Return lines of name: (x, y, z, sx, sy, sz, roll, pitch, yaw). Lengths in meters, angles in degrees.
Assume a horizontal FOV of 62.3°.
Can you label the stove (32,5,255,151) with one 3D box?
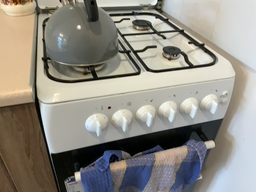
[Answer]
stove: (-0.020, -0.150, 0.740, 0.530, 0.150, 0.610, -8, 39, -16)
